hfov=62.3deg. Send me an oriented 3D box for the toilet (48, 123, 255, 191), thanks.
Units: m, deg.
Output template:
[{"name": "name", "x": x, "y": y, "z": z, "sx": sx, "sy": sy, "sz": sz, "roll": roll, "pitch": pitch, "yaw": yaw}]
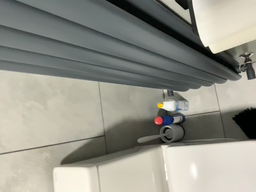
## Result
[{"name": "toilet", "x": 0.290, "y": 0.340, "z": 0.760, "sx": 0.660, "sy": 0.830, "sz": 0.390, "roll": -14, "pitch": 80, "yaw": 36}]
